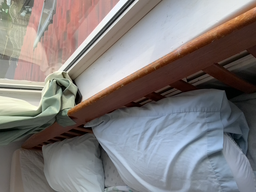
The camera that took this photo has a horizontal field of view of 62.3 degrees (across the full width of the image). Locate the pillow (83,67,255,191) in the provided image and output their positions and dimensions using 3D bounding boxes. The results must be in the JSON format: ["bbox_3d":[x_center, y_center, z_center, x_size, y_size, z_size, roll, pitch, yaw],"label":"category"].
[{"bbox_3d":[0.080,0.220,0.850,0.690,0.190,0.420,-24,69,48],"label":"pillow"}]

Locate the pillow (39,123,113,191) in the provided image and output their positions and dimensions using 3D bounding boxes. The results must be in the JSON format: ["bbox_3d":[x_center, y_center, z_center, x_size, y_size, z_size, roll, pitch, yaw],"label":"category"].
[{"bbox_3d":[-0.410,0.480,1.490,0.730,0.190,0.440,-24,69,48],"label":"pillow"}]
